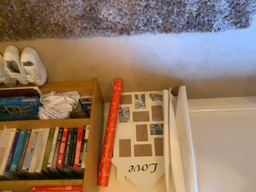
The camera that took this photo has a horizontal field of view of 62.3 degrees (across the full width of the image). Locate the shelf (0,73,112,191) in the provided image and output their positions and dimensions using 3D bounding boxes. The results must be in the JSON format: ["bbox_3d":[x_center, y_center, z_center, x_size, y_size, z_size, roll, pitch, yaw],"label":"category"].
[{"bbox_3d":[-0.770,0.410,1.320,1.280,1.070,0.330,-4,143,3],"label":"shelf"}]
